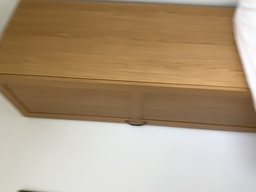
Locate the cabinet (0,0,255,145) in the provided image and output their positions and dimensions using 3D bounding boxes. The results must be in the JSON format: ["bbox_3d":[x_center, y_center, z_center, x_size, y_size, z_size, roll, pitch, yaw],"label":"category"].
[{"bbox_3d":[0.230,-0.160,1.390,0.530,2.050,0.670,91,-174,-60],"label":"cabinet"}]
